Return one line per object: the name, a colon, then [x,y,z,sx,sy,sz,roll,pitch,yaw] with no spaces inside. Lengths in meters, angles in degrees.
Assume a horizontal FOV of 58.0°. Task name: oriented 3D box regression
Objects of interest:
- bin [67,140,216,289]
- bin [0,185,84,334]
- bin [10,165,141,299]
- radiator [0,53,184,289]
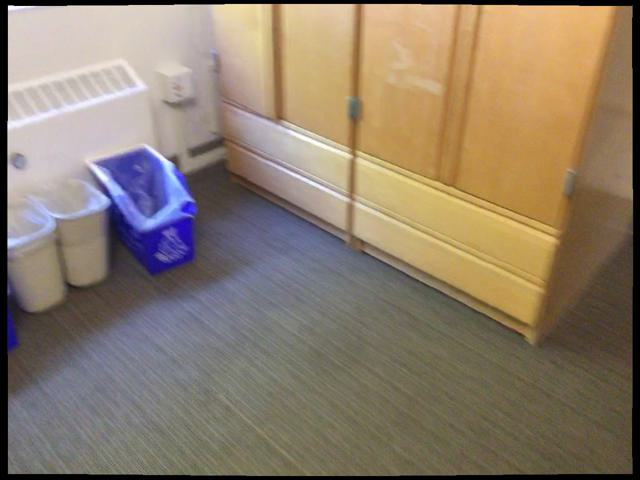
bin: [-0.709,-0.120,2.310,0.330,0.340,0.480,-28,44,-34]
bin: [-1.088,0.060,2.040,0.300,0.330,0.320,-28,44,-34]
bin: [-0.918,-0.040,2.190,0.300,0.320,0.310,-28,44,-34]
radiator: [-1.148,-0.210,2.150,1.229,0.651,0.260,-28,44,-35]
